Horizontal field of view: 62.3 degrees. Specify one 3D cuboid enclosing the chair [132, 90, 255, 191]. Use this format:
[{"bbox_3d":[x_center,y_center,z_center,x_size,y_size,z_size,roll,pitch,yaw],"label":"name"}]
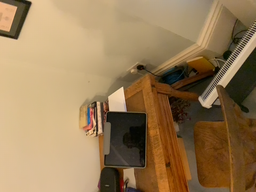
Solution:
[{"bbox_3d":[0.510,0.280,1.090,0.490,0.850,0.450,-11,75,52],"label":"chair"}]
